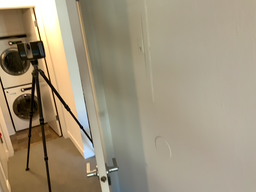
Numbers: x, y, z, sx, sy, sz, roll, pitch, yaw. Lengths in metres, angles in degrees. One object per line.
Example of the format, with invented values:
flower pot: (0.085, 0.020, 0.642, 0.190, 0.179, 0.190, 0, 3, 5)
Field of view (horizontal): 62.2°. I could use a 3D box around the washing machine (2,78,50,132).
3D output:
washing machine: (-2.020, 0.150, 4.220, 0.620, 0.840, 0.560, -17, 20, -30)
